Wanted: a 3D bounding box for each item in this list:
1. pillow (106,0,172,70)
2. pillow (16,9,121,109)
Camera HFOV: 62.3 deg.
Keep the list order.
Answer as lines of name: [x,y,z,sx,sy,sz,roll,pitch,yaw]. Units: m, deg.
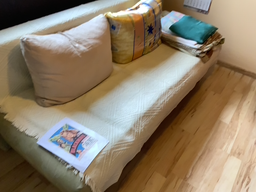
pillow: [0.110,-0.570,1.800,0.180,0.380,0.720,26,45,21]
pillow: [-0.340,-0.270,1.390,0.290,0.380,0.570,26,45,21]
